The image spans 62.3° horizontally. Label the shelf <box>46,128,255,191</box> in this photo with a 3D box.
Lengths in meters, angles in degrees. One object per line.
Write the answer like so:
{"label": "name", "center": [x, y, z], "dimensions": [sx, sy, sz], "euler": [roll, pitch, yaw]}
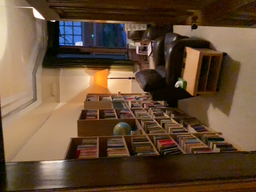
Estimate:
{"label": "shelf", "center": [0.300, 0.740, 2.330], "dimensions": [1.180, 2.030, 0.360], "euler": [-131, 42, -76]}
